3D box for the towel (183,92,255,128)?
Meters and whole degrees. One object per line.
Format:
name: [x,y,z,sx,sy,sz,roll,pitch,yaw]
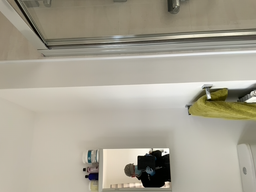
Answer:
towel: [0.740,0.110,1.420,0.450,0.630,0.150,80,-171,-75]
